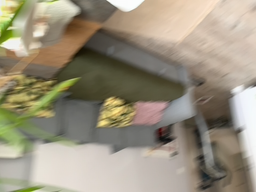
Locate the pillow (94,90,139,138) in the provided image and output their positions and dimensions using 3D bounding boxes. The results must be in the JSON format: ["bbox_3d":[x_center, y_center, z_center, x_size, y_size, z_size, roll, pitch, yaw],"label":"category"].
[{"bbox_3d":[-0.120,0.190,2.470,0.440,0.470,0.200,33,103,-10],"label":"pillow"}]

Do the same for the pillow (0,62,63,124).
[{"bbox_3d":[-0.860,-0.030,1.860,0.420,0.350,0.240,27,120,-19],"label":"pillow"}]
